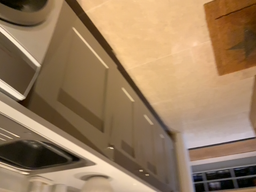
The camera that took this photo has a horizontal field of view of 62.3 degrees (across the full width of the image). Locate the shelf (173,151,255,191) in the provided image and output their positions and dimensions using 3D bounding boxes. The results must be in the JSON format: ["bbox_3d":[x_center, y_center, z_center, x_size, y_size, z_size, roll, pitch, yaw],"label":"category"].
[{"bbox_3d":[1.610,1.410,3.770,1.480,0.510,0.410,-16,142,21],"label":"shelf"}]
